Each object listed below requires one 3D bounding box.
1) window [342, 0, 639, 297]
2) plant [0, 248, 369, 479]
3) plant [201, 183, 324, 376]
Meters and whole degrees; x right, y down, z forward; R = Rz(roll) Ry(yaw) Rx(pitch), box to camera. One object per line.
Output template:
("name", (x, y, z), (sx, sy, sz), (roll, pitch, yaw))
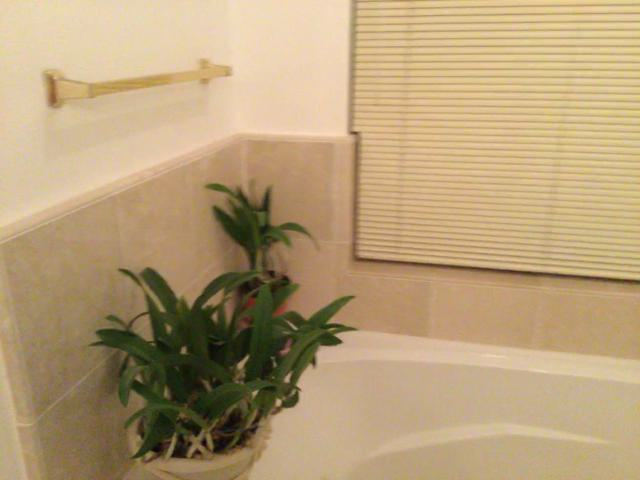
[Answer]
("window", (0.660, -0.380, 1.490), (1.210, 1.080, 0.070), (2, 18, 16))
("plant", (-0.190, 0.320, 1.070), (0.470, 0.470, 0.460), (2, 18, 16))
("plant", (-0.150, 0.100, 1.690), (0.240, 0.480, 0.280), (2, 18, 16))
